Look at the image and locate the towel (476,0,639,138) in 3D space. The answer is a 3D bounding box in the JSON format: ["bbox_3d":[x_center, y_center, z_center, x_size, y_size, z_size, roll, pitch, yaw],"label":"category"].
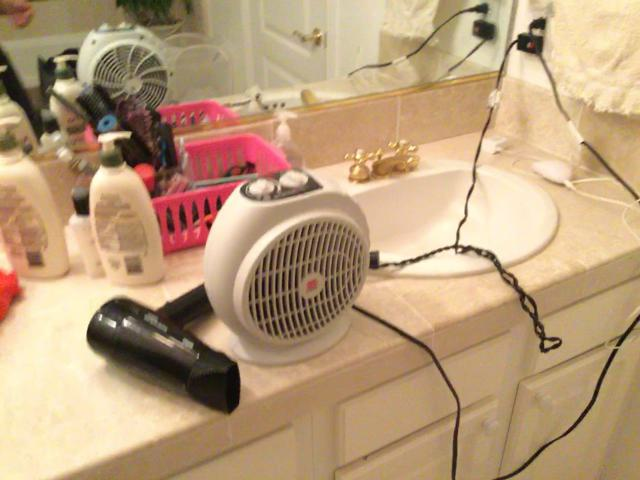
[{"bbox_3d":[0.500,-0.380,1.120,0.090,0.260,0.450,-14,29,-23],"label":"towel"}]

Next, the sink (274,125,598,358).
[{"bbox_3d":[0.190,-0.040,1.120,0.400,0.210,0.450,-14,29,-23],"label":"sink"}]
